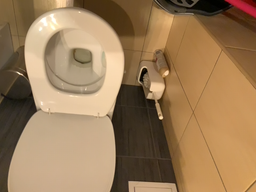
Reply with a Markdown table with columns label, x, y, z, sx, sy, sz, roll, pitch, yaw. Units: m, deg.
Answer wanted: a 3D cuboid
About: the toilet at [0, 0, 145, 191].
| label | x | y | z | sx | sy | sz | roll | pitch | yaw |
| --- | --- | --- | --- | --- | --- | --- | --- | --- | --- |
| toilet | -0.210 | -0.040 | 0.820 | 0.350 | 0.820 | 0.530 | 5 | 128 | -8 |
